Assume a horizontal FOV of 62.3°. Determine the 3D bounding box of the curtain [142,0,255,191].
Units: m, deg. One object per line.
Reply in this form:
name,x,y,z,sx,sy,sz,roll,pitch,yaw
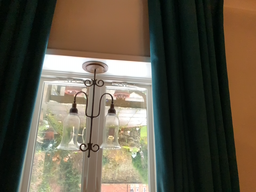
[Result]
curtain,0.420,0.170,1.160,0.610,2.320,0.220,4,160,-12
